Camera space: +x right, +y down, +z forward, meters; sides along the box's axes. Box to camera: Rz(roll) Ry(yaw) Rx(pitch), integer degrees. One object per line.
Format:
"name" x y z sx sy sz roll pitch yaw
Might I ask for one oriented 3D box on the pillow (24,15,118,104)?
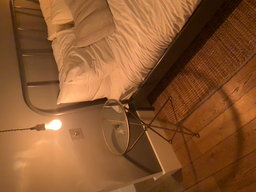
"pillow" -0.410 -0.320 1.670 0.200 0.430 0.650 -57 5 46
